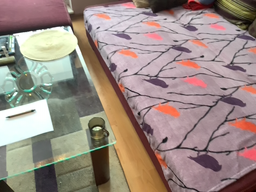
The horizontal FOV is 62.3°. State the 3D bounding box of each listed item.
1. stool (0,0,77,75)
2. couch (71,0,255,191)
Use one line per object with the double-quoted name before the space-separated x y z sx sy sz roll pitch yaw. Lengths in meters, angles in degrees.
"stool" -1.020 -0.680 2.160 0.790 0.450 0.740 -14 49 -16
"couch" 0.610 -0.390 1.760 1.530 0.780 2.490 -17 50 -19
